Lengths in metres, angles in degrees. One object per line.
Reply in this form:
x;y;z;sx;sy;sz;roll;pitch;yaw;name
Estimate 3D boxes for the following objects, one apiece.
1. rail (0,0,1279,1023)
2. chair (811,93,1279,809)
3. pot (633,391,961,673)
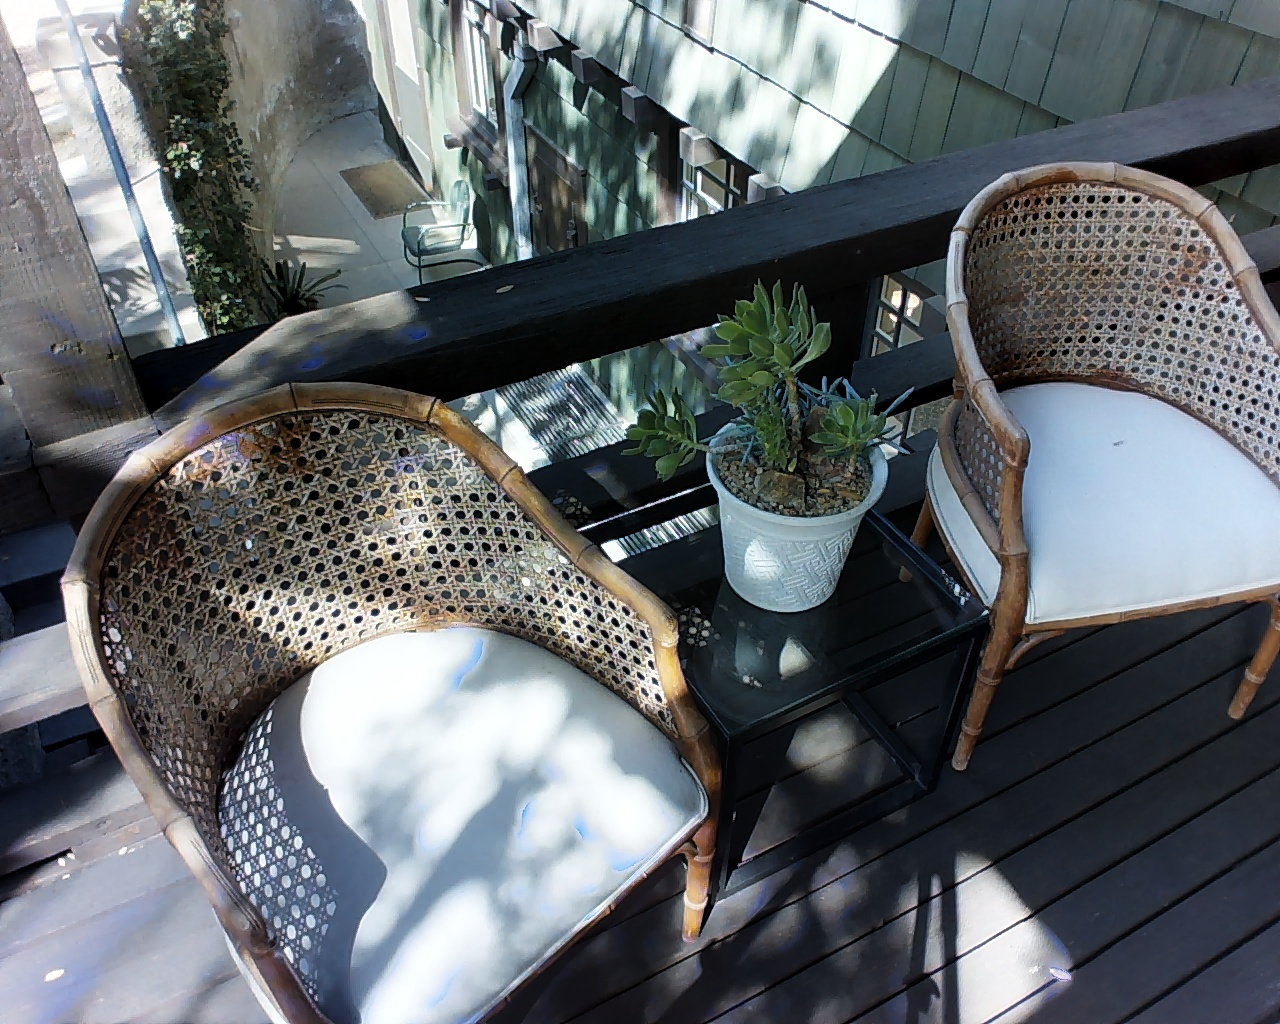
0.620;0.400;1.250;3.710;1.000;3.090;-20;45;-20;rail
0.820;-0.120;1.870;0.740;0.870;0.750;-9;43;-10;chair
0.200;0.030;1.540;0.400;0.310;0.220;-4;42;-4;pot
